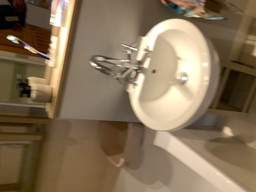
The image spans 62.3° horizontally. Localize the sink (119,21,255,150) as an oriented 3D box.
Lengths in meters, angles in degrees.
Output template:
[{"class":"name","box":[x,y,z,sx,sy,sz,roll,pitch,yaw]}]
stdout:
[{"class":"sink","box":[0.230,-0.070,0.950,0.440,0.270,0.430,33,112,54]}]
